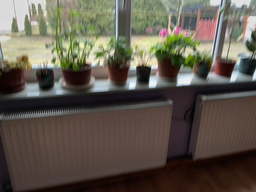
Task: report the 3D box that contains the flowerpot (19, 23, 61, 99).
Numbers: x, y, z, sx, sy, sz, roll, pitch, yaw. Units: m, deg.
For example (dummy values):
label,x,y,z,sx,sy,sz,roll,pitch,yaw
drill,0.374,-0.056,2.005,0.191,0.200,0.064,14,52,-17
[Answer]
label,x,y,z,sx,sy,sz,roll,pitch,yaw
flowerpot,-0.610,-0.260,1.510,0.200,0.480,0.270,-6,23,-18

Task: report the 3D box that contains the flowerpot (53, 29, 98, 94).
label,x,y,z,sx,sy,sz,roll,pitch,yaw
flowerpot,-0.390,-0.270,1.570,0.240,0.410,0.300,-8,24,-23

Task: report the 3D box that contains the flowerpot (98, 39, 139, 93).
label,x,y,z,sx,sy,sz,roll,pitch,yaw
flowerpot,-0.080,-0.250,1.680,0.240,0.360,0.250,-7,23,-21

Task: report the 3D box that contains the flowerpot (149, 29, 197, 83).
label,x,y,z,sx,sy,sz,roll,pitch,yaw
flowerpot,0.370,-0.350,1.800,0.230,0.390,0.280,-12,25,-30

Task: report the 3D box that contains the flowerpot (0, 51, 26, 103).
label,x,y,z,sx,sy,sz,roll,pitch,yaw
flowerpot,-0.860,-0.140,1.460,0.240,0.280,0.290,-7,23,-21
